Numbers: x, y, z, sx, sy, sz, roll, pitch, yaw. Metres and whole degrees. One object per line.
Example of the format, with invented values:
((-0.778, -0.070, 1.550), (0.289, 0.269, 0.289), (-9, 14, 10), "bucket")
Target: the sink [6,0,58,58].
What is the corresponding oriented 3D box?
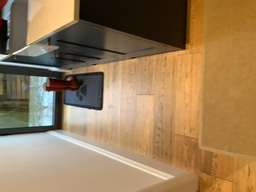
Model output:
((-0.810, -0.670, 1.760), (0.540, 0.230, 0.610), (2, 90, 48), "sink")
